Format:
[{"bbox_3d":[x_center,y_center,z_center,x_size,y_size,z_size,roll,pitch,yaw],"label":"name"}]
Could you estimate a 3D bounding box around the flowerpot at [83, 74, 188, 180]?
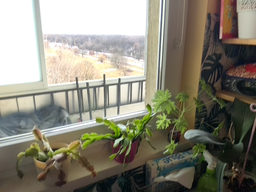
[{"bbox_3d":[0.030,0.090,0.780,0.340,0.290,0.140,-9,20,-28],"label":"flowerpot"}]
